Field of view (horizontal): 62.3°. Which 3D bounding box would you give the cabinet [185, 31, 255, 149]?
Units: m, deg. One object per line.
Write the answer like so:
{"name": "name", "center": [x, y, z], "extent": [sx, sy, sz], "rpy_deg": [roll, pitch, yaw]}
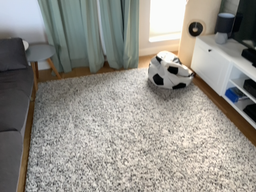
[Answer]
{"name": "cabinet", "center": [1.150, 0.010, 1.840], "extent": [0.430, 0.500, 1.830], "rpy_deg": [-9, 38, -12]}
